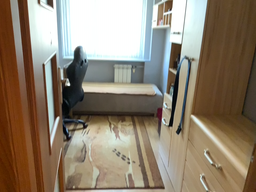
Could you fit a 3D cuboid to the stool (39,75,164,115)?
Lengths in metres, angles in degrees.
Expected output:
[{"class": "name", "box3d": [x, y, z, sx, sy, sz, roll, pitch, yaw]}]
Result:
[{"class": "stool", "box3d": [-0.430, -0.040, 3.770, 1.970, 0.450, 0.740, 2, 18, -4]}]
